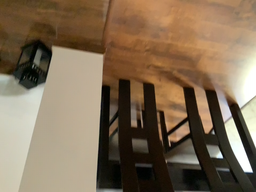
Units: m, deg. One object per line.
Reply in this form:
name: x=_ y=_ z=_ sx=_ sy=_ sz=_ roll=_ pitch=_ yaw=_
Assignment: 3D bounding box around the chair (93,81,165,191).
chair: x=-0.030 y=0.440 z=1.600 sx=0.400 sy=1.040 sz=0.420 roll=6 pitch=143 yaw=-12
